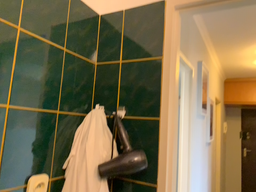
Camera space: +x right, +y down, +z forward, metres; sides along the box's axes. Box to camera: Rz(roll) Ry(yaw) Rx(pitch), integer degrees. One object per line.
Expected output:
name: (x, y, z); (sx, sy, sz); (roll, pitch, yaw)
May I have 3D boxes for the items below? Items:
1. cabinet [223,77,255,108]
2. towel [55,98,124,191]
cabinet: (2.740, -0.060, 4.230); (1.470, 0.560, 0.560); (0, -8, 31)
towel: (-0.150, 0.310, 0.830); (0.160, 0.580, 0.190); (1, -8, 26)
